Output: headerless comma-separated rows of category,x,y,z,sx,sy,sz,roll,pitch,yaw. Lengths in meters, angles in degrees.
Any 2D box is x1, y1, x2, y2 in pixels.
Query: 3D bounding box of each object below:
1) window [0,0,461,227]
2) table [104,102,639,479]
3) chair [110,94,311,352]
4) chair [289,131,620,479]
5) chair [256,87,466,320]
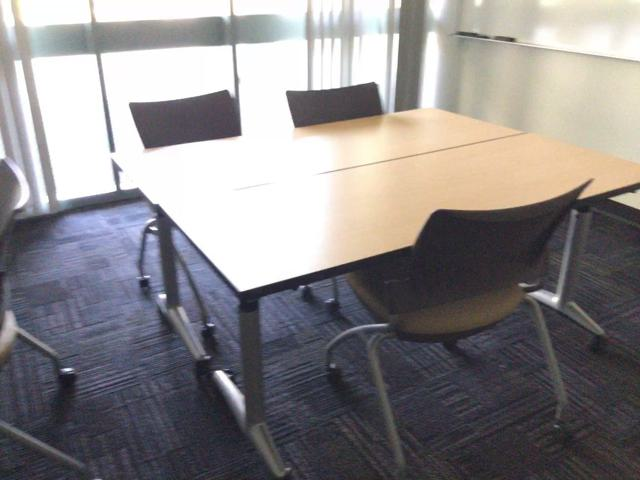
window,-0.730,-0.900,3.720,3.550,1.270,0.470,-8,23,-25
table,0.160,0.040,2.160,1.600,0.880,1.310,-8,23,-25
chair,-0.480,-0.130,2.440,0.610,0.850,0.690,-8,23,-26
chair,0.320,0.170,1.790,0.570,0.860,0.730,-8,23,-25
chair,0.140,-0.210,2.580,0.690,0.850,0.560,-8,23,-26
